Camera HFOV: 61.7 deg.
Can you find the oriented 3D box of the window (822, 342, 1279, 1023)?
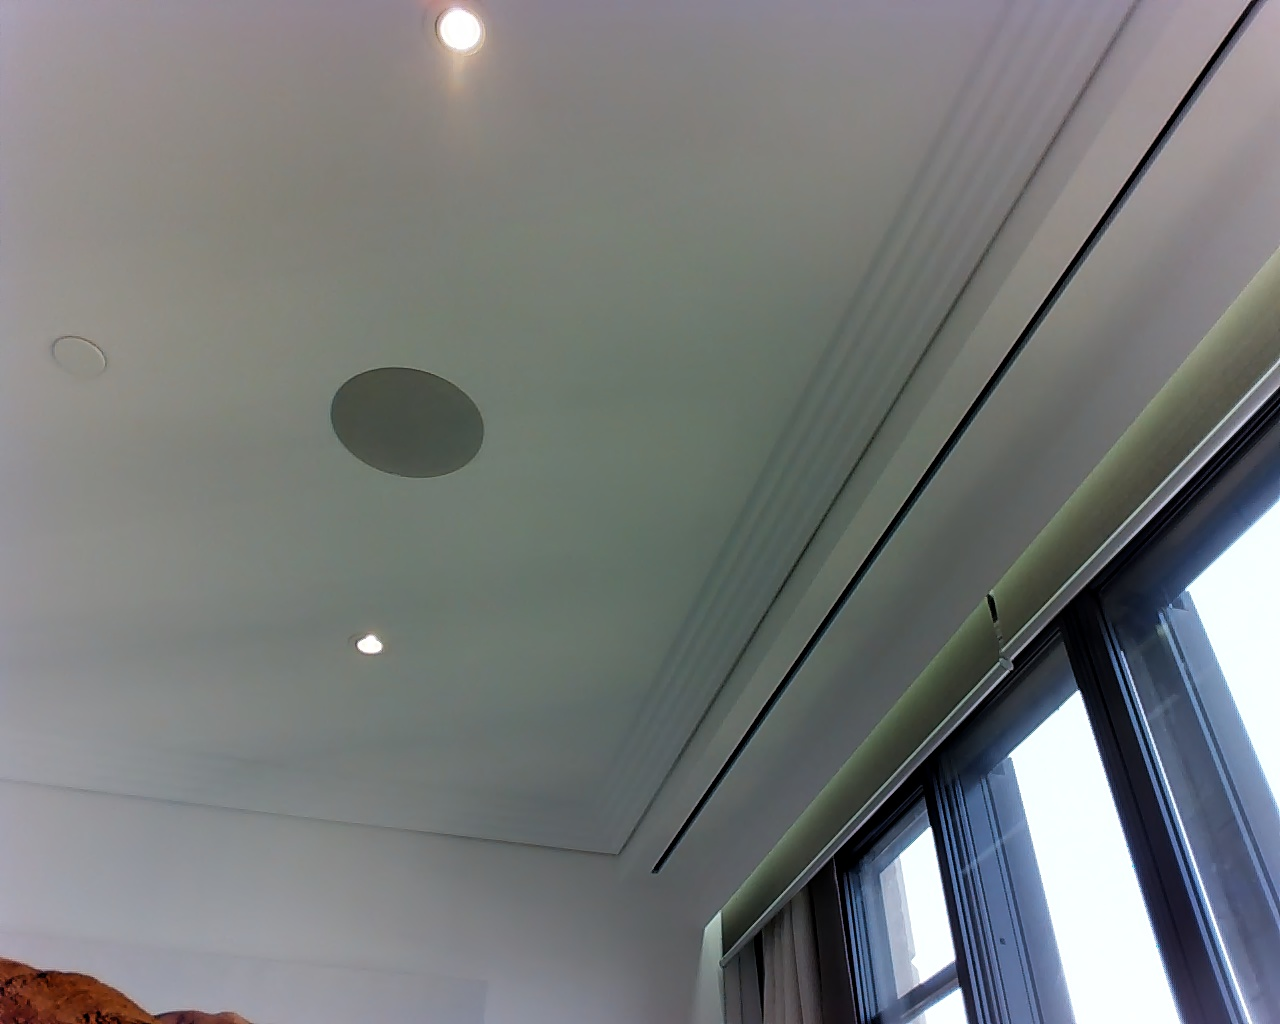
[{"bbox_3d":[0.890,1.160,1.260,0.170,2.630,2.360,10,-42,-11],"label":"window"}]
